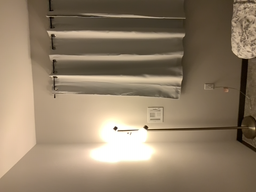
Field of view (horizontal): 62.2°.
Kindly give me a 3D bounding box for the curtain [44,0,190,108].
[{"bbox_3d":[-0.120,-0.850,2.460,0.140,1.620,1.980,-109,19,-81],"label":"curtain"}]
